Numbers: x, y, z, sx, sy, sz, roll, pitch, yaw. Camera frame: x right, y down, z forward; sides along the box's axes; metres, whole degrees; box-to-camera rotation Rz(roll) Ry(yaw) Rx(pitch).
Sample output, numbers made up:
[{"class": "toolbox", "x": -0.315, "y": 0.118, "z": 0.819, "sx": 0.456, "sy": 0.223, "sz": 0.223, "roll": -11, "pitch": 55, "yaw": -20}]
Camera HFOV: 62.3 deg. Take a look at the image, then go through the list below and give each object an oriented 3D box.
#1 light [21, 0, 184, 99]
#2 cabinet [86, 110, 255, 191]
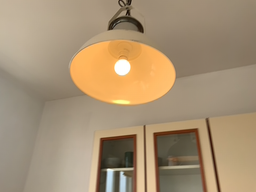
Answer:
[{"class": "light", "x": -0.050, "y": -0.300, "z": 1.000, "sx": 0.430, "sy": 0.450, "sz": 0.670, "roll": -11, "pitch": -16, "yaw": 24}, {"class": "cabinet", "x": 0.530, "y": 0.450, "z": 1.280, "sx": 1.590, "sy": 0.600, "sz": 0.310, "roll": -9, "pitch": -31, "yaw": 20}]
